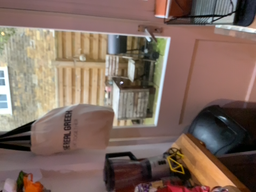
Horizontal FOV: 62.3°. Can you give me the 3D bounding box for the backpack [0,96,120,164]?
[{"bbox_3d":[-0.410,0.180,1.220,0.190,0.680,0.310,-123,37,-61],"label":"backpack"}]
